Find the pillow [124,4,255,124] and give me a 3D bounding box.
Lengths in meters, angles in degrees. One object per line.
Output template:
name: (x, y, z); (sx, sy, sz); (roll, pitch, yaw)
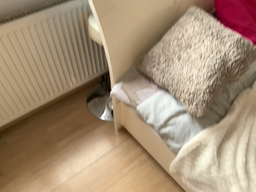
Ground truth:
pillow: (0.290, -0.180, 0.960); (0.400, 0.220, 0.440); (-31, 60, -34)
